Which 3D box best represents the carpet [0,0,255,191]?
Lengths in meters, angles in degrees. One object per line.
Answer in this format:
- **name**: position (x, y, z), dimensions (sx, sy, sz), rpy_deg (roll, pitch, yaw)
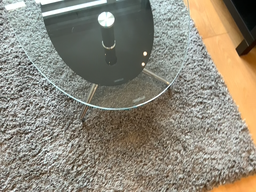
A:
- **carpet**: position (-0.190, -0.230, 1.150), dimensions (1.230, 0.070, 1.720), rpy_deg (-16, 71, -7)
